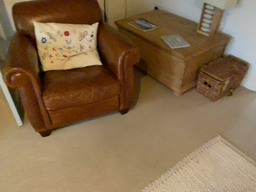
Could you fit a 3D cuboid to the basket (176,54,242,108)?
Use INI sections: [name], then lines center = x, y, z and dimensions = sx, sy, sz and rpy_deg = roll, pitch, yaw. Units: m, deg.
[basket]
center = 0.830, -0.170, 2.200
dimensions = 0.560, 0.280, 0.310
rpy_deg = -24, 46, -28
